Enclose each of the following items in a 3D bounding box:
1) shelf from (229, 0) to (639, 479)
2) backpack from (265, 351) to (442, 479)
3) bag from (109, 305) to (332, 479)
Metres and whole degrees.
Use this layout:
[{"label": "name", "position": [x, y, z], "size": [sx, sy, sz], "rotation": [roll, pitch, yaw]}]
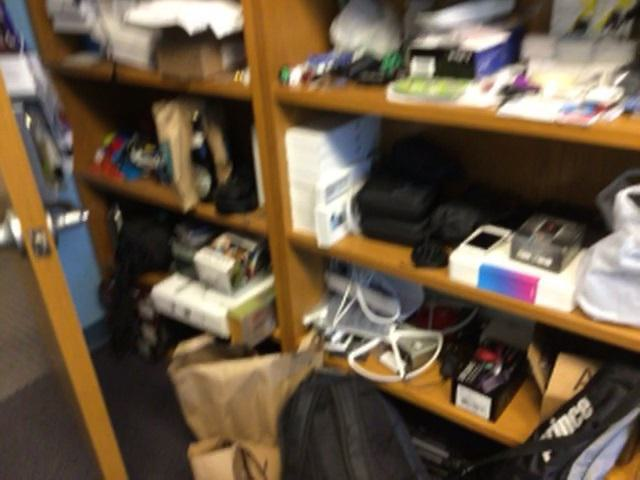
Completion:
[{"label": "shelf", "position": [0.310, -0.310, 1.150], "size": [0.940, 2.040, 0.390], "rotation": [16, 32, 35]}, {"label": "backpack", "position": [0.050, 0.560, 1.440], "size": [0.340, 0.420, 0.350], "rotation": [14, 3, 0]}, {"label": "bag", "position": [-0.230, 0.490, 1.460], "size": [0.370, 0.460, 0.340], "rotation": [16, 32, 35]}]
